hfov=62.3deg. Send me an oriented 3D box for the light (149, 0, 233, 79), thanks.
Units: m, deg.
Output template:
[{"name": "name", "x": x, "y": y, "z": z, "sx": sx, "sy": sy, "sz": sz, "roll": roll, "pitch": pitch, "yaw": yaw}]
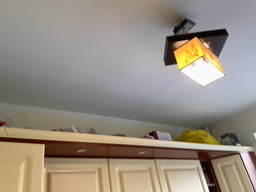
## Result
[{"name": "light", "x": 0.310, "y": -0.310, "z": 1.100, "sx": 0.300, "sy": 0.260, "sz": 0.210, "roll": -37, "pitch": -111, "yaw": -22}]
